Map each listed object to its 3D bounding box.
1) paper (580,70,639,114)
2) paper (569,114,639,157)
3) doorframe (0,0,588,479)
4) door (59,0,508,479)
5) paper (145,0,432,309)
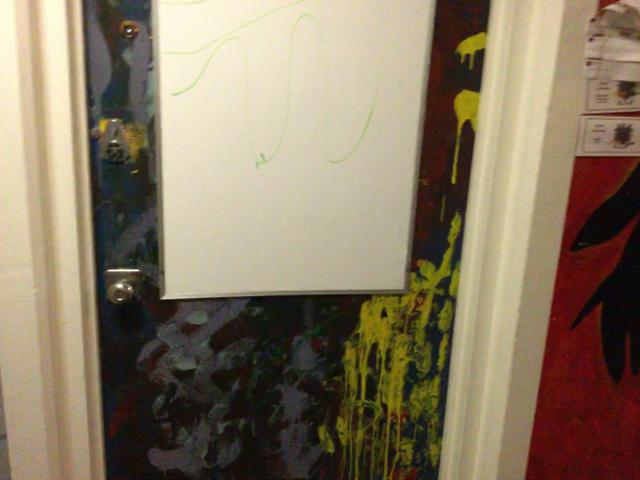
[{"bbox_3d":[0.670,-0.320,1.250,0.210,0.090,0.020,-2,14,-8],"label":"paper"},{"bbox_3d":[0.670,-0.230,1.270,0.240,0.090,0.020,-2,14,-8],"label":"paper"},{"bbox_3d":[-0.060,-0.010,1.260,1.110,2.210,0.260,-2,14,-8],"label":"doorframe"},{"bbox_3d":[-0.060,0.030,1.350,0.910,2.080,0.110,-2,14,-8],"label":"door"},{"bbox_3d":[-0.060,-0.280,1.300,0.610,0.880,0.040,-2,14,-8],"label":"paper"}]
